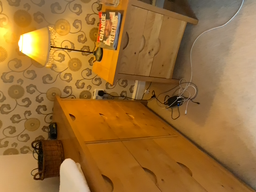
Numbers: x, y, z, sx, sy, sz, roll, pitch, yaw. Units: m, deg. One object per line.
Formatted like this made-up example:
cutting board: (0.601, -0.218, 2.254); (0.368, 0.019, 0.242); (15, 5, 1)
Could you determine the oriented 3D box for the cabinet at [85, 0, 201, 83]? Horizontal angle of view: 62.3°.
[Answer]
cabinet: (0.090, -0.430, 1.620); (0.470, 0.630, 0.490); (35, 116, 55)
